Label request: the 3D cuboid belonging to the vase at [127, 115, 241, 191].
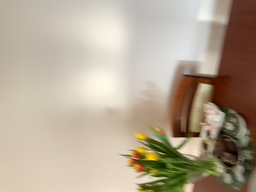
[{"bbox_3d":[0.230,0.330,1.060,0.360,0.390,0.330,-116,28,-64],"label":"vase"}]
